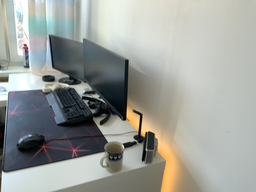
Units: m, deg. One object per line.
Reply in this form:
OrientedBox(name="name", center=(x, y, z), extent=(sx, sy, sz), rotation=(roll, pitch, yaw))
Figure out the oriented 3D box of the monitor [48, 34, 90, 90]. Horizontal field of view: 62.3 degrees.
OrientedBox(name="monitor", center=(-0.510, -0.300, 1.780), extent=(0.520, 0.360, 0.050), rotation=(23, 27, 37))
